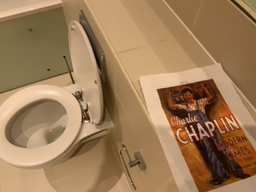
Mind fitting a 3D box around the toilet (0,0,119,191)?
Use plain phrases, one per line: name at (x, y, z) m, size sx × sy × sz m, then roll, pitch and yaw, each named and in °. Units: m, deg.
toilet at (-0.360, 0.080, 0.960) m, size 0.510 × 0.760 × 0.420 m, roll -20°, pitch 62°, yaw -14°
